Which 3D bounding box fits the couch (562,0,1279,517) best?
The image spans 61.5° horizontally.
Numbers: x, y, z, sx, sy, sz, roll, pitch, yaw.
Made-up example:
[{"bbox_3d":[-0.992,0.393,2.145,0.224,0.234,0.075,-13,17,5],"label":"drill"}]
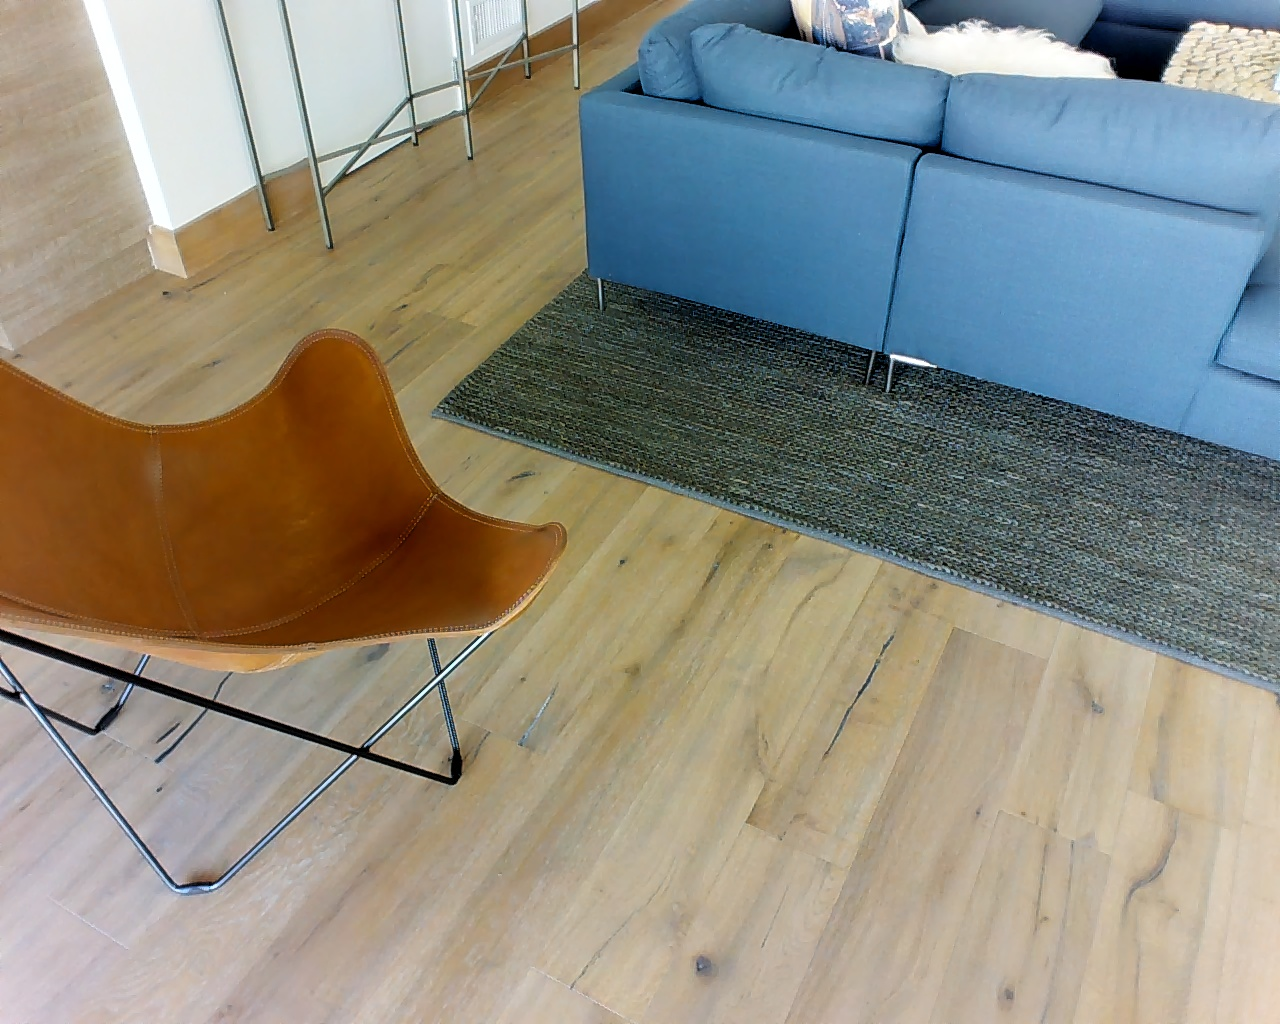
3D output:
[{"bbox_3d":[1.580,-1.460,3.540,2.160,0.610,3.450,20,46,21],"label":"couch"}]
